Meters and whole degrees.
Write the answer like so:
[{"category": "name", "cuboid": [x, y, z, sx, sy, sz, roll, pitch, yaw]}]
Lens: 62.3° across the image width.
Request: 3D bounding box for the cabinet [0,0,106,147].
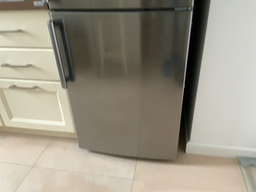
[{"category": "cabinet", "cuboid": [-0.500, -0.230, 1.420, 0.490, 0.870, 0.630, 4, 31, 9]}]
